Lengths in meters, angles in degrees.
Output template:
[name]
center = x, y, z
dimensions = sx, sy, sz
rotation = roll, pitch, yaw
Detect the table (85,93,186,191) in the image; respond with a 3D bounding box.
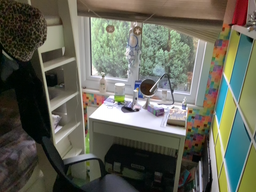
[table]
center = 0.090, 0.470, 1.950
dimensions = 0.740, 0.740, 0.590
rotation = 8, 22, 14
